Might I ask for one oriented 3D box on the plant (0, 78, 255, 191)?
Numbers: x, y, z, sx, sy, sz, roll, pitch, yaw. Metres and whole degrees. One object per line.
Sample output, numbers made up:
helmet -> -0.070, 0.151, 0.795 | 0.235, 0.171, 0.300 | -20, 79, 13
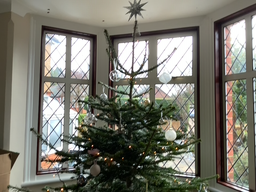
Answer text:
plant -> -0.050, 0.840, 1.540 | 1.470, 1.760, 1.260 | 0, -3, 13
